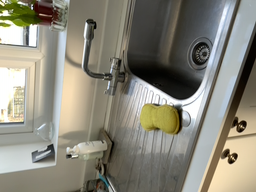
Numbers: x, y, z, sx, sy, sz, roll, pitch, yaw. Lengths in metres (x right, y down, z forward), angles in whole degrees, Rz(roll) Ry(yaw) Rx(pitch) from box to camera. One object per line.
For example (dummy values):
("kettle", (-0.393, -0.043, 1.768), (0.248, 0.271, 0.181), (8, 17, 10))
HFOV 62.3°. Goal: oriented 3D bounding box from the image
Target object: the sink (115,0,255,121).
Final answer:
("sink", (0.190, -0.250, 0.710), (0.520, 0.200, 0.460), (40, 124, 53))
